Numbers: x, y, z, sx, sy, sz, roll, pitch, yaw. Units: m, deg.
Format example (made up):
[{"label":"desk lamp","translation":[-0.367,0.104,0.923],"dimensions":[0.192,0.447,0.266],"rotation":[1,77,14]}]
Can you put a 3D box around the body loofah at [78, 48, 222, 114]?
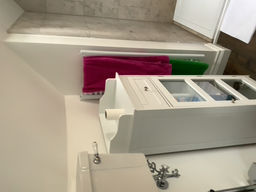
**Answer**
[{"label":"body loofah","translation":[0.160,-0.120,1.750],"dimensions":[0.250,1.090,0.430],"rotation":[-113,28,-53]}]

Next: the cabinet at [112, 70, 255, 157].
[{"label":"cabinet","translation":[0.470,0.080,1.430],"dimensions":[0.440,1.070,0.340],"rotation":[-117,31,-57]}]
